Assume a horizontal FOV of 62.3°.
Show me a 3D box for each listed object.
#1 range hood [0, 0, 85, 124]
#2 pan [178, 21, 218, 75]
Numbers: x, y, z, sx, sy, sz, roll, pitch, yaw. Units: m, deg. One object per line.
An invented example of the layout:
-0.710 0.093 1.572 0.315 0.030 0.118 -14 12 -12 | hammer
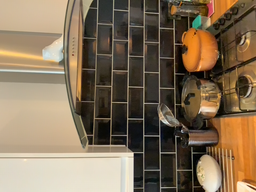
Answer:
-0.690 -0.220 1.070 0.370 0.890 0.710 137 134 -79 | range hood
0.400 -0.270 1.240 0.190 0.140 0.250 137 134 -79 | pan
